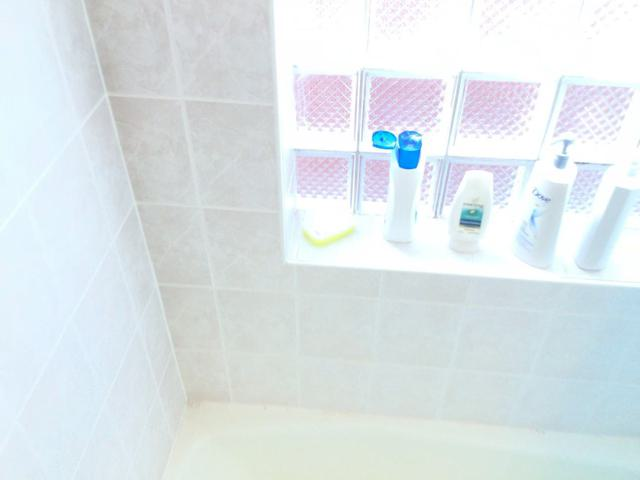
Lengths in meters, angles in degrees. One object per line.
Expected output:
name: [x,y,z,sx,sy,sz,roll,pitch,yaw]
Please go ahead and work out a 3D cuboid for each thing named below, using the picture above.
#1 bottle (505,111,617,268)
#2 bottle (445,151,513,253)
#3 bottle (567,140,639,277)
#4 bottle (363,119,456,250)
bottle: [0.490,-0.100,1.210,0.120,0.300,0.130,5,41,5]
bottle: [0.340,-0.080,1.260,0.100,0.200,0.090,5,41,5]
bottle: [0.610,-0.060,1.190,0.100,0.270,0.100,5,41,5]
bottle: [0.190,-0.120,1.280,0.170,0.250,0.130,5,41,5]
